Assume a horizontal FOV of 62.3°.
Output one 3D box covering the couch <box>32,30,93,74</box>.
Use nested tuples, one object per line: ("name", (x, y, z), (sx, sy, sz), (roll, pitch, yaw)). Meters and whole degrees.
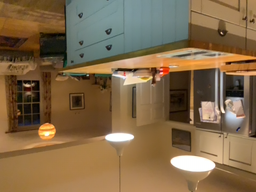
("couch", (-1.390, -0.940, 4.710), (1.070, 0.830, 0.820), (-1, -177, 1))

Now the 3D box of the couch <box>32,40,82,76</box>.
("couch", (-2.150, -1.040, 6.270), (0.880, 0.810, 1.770), (-3, -176, -36))

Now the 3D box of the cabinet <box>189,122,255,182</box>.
("cabinet", (1.610, 0.830, 3.440), (0.630, 0.590, 1.020), (-3, -176, -36))
